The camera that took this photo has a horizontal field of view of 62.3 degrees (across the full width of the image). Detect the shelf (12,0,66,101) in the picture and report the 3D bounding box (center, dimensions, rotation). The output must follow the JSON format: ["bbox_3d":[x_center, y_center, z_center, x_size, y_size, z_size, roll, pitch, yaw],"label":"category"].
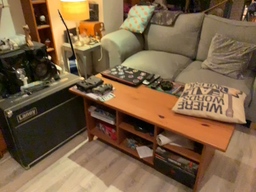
[{"bbox_3d":[-0.970,-0.930,2.180,0.190,2.060,0.330,19,35,29],"label":"shelf"}]

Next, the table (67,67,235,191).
[{"bbox_3d":[0.140,0.210,1.770,1.180,0.510,0.550,19,35,30],"label":"table"}]

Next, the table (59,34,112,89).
[{"bbox_3d":[-0.560,-0.500,2.950,0.370,0.550,0.590,17,34,27],"label":"table"}]
